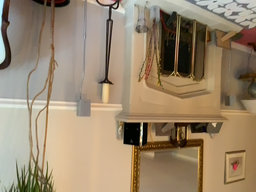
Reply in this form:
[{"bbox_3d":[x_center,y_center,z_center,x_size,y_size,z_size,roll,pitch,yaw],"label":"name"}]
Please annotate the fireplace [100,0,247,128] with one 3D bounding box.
[{"bbox_3d":[0.560,-0.300,2.390,1.510,1.170,0.740,3,178,-34],"label":"fireplace"}]
